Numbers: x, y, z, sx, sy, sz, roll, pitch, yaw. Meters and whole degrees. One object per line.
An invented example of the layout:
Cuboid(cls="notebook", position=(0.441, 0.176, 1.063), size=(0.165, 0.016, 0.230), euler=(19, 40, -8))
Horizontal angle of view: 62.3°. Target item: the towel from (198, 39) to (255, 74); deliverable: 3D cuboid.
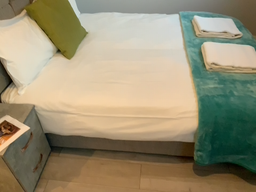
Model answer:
Cuboid(cls="towel", position=(0.800, -0.320, 1.640), size=(0.430, 0.060, 0.420), euler=(3, 40, 4))

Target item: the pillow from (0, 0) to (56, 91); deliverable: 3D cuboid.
Cuboid(cls="pillow", position=(-0.730, -0.370, 1.470), size=(0.140, 0.450, 0.510), euler=(-3, 62, 12))
